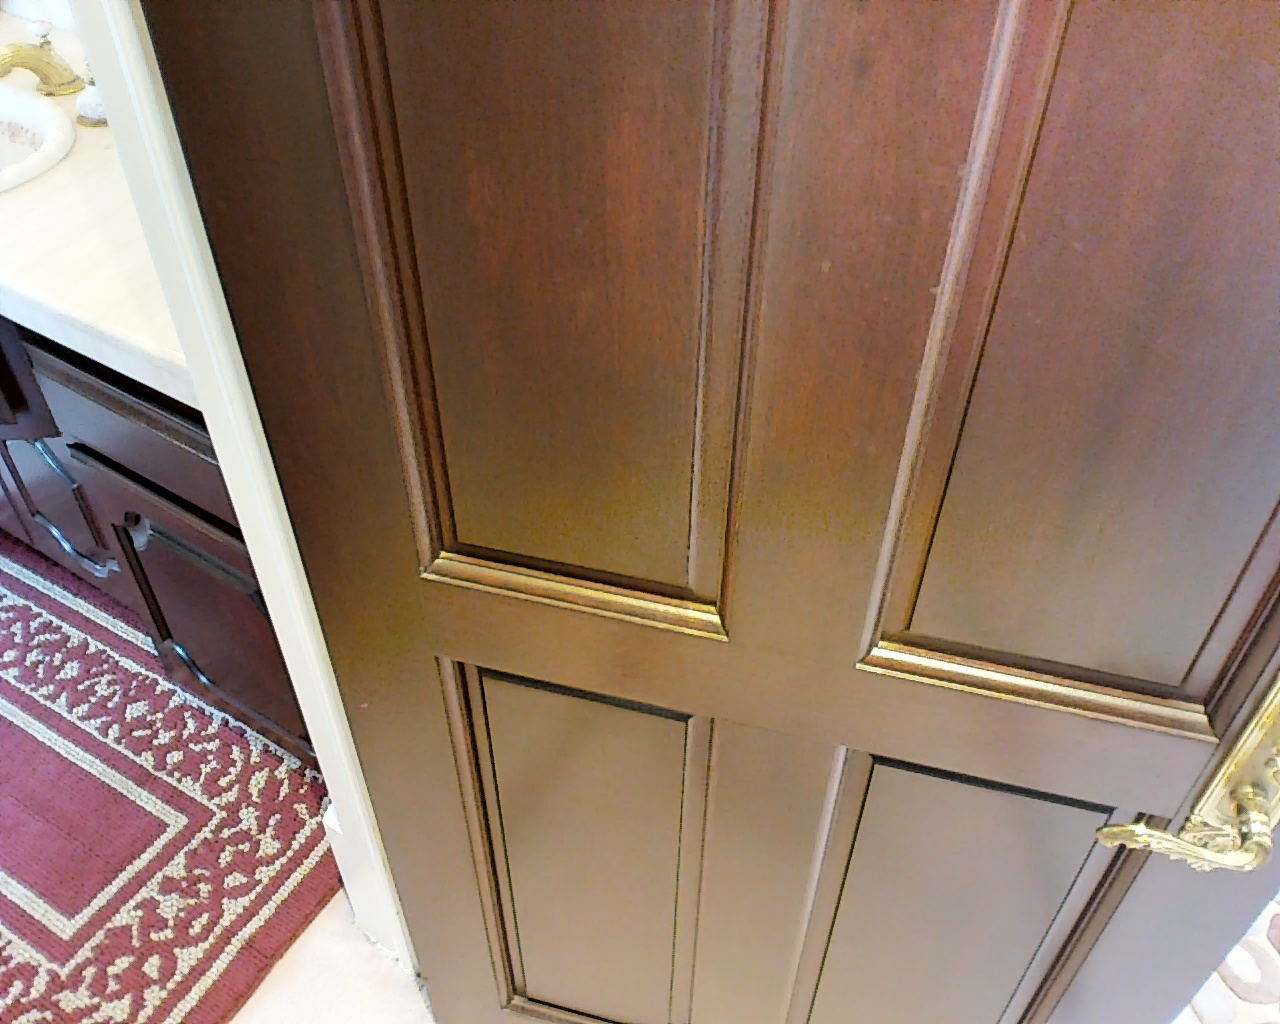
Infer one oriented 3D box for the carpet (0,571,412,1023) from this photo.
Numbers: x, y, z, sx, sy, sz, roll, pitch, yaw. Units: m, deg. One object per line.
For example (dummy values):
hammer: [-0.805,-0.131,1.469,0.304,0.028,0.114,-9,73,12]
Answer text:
carpet: [-1.030,0.450,1.620,1.190,0.010,0.680,23,46,23]
